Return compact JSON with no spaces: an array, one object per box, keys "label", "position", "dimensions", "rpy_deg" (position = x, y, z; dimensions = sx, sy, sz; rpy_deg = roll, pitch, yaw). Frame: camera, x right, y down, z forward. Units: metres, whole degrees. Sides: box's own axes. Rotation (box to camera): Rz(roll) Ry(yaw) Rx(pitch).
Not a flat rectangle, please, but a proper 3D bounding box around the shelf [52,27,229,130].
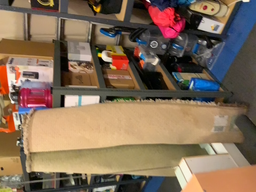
[{"label":"shelf","position":[0.030,-0.200,2.080],"dimensions":[0.970,1.450,0.410],"rpy_deg":[-112,29,-47]}]
